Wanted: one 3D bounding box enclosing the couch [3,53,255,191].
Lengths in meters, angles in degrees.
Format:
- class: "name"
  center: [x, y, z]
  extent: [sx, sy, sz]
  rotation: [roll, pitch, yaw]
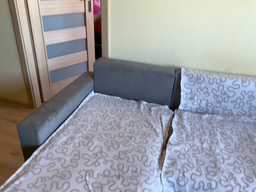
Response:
- class: "couch"
  center: [0.550, 0.330, 1.440]
  extent: [2.300, 0.710, 0.920]
  rotation: [10, 29, 12]
